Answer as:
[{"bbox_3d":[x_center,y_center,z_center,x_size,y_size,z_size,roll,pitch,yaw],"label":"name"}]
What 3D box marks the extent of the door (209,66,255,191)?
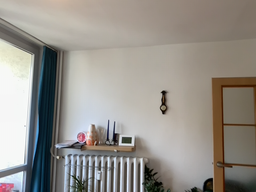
[{"bbox_3d":[1.260,0.700,2.070,0.860,2.010,0.080,0,-6,13],"label":"door"}]
